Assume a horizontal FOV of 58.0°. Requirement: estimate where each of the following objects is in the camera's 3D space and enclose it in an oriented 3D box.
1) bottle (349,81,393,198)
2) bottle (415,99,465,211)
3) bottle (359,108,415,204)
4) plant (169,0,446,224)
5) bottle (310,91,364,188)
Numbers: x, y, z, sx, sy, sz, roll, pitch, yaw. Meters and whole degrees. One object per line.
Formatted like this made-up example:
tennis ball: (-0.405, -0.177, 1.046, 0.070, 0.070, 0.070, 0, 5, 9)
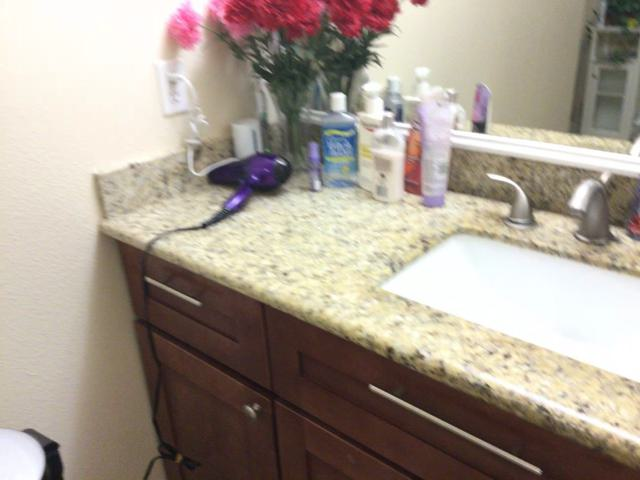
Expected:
bottle: (0.110, -0.220, 1.270, 0.070, 0.240, 0.060, 18, 30, 38)
bottle: (0.240, -0.170, 1.170, 0.080, 0.220, 0.050, 0, 23, 4)
bottle: (0.140, -0.180, 1.230, 0.090, 0.180, 0.070, 18, 30, 38)
plant: (-0.010, -0.370, 1.340, 0.370, 0.470, 0.500, 18, 30, 38)
bottle: (0.040, -0.230, 1.320, 0.100, 0.200, 0.070, 11, 26, 26)
